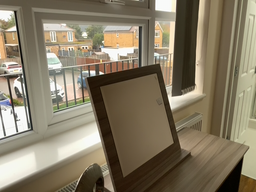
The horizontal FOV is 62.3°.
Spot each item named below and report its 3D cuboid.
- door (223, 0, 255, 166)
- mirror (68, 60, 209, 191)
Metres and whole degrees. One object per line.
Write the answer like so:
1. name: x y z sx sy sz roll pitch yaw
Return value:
1. door: 1.400 -0.260 2.480 0.060 2.000 0.870 13 21 39
2. mirror: 0.060 0.100 1.060 0.400 0.470 0.540 18 23 42
